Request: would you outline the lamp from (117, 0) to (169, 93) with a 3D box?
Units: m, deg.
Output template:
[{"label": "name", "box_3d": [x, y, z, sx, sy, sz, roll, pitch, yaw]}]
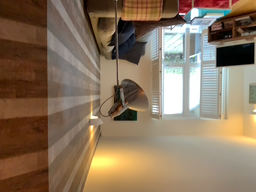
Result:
[{"label": "lamp", "box_3d": [0.140, -0.880, 2.160, 0.470, 1.650, 0.380, -2, -174, 2]}]
